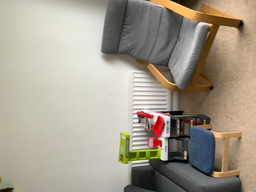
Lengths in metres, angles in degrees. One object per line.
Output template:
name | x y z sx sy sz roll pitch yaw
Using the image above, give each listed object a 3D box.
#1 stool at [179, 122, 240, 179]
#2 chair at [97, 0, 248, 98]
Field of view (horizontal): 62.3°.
stool | 0.700 0.450 1.870 0.430 0.280 0.370 -177 88 -69
chair | 0.300 -0.510 1.980 0.820 0.950 0.710 -118 35 -52
